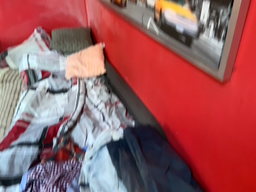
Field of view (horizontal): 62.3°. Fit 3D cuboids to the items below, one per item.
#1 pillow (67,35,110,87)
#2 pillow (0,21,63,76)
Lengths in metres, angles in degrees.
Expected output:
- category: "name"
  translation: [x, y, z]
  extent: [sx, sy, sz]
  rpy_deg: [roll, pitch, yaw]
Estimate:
- category: "pillow"
  translation: [-0.370, -0.330, 1.880]
  extent: [0.120, 0.350, 0.480]
  rpy_deg: [40, 6, -28]
- category: "pillow"
  translation: [-0.930, -0.430, 2.030]
  extent: [0.490, 0.400, 0.200]
  rpy_deg: [6, 53, -31]
